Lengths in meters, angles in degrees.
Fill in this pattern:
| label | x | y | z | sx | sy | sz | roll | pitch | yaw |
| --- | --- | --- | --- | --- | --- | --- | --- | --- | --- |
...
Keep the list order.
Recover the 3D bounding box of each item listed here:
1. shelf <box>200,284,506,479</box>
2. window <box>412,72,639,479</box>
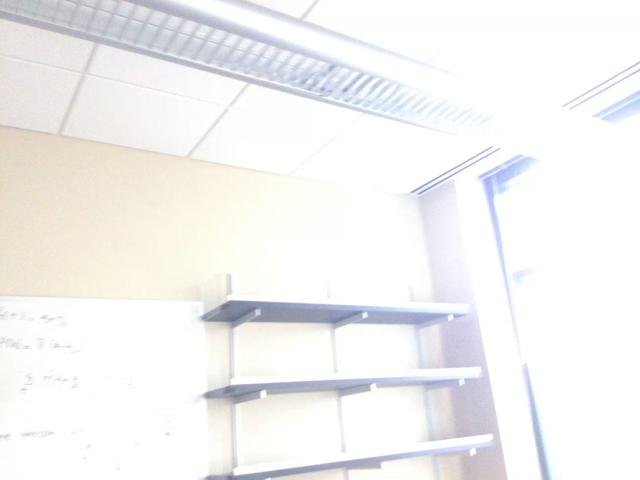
| label | x | y | z | sx | sy | sz | roll | pitch | yaw |
| --- | --- | --- | --- | --- | --- | --- | --- | --- | --- |
| shelf | 0.200 | 0.680 | 2.880 | 1.430 | 0.770 | 0.470 | 5 | -25 | -37 |
| window | 1.640 | 0.400 | 2.590 | 0.620 | 2.140 | 2.270 | 4 | -24 | -35 |
